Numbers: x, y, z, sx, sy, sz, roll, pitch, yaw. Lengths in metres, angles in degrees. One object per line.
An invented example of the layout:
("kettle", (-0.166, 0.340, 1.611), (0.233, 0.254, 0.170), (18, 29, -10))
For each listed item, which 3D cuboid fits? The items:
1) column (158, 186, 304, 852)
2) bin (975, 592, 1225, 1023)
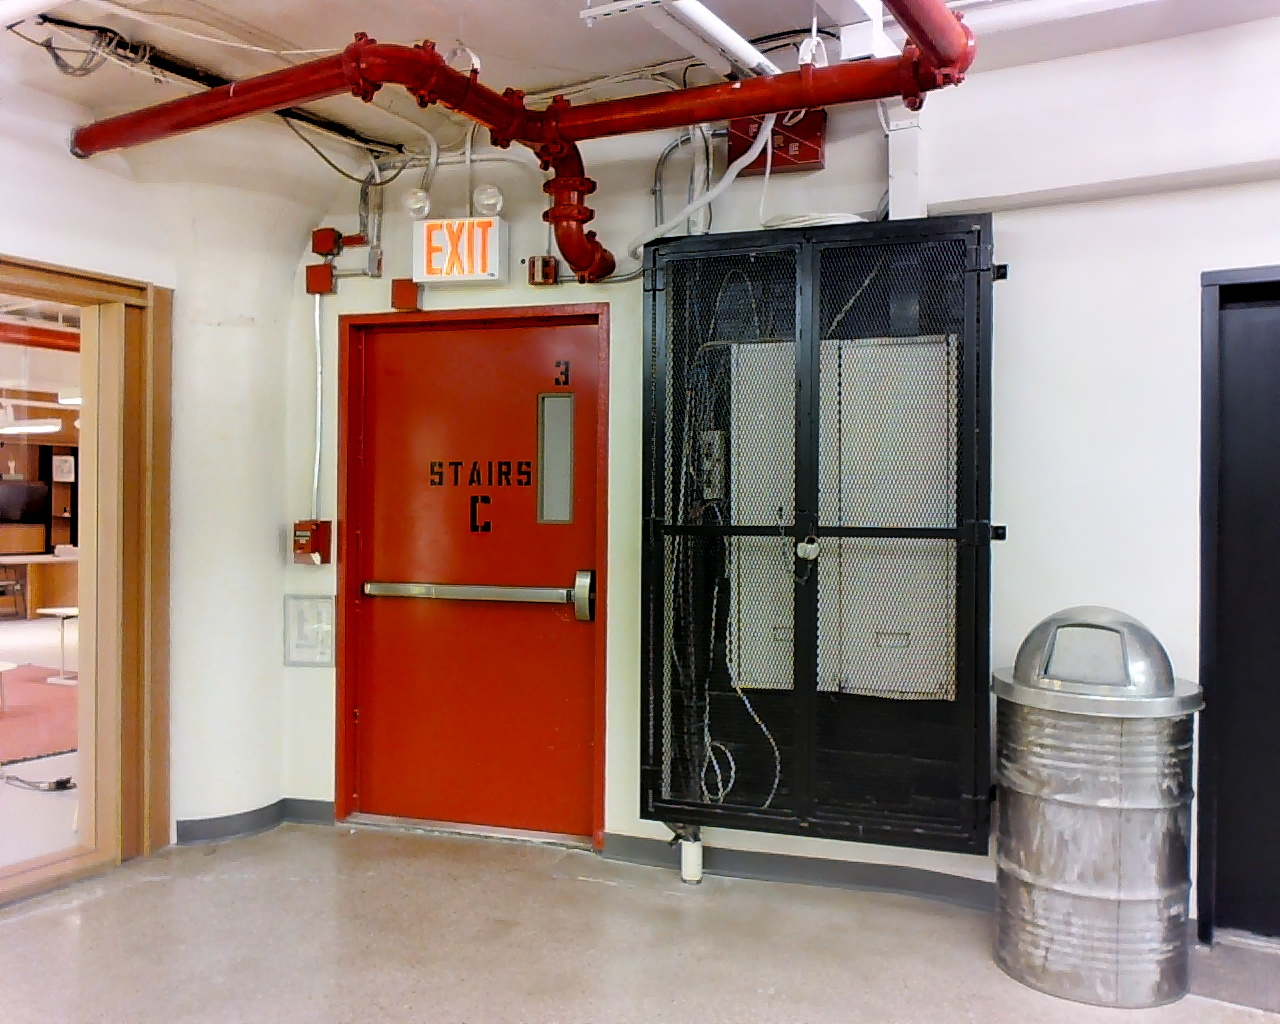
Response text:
("column", (-1.700, 0.030, 4.470), (0.530, 2.661, 0.210), (1, 0, -21))
("bin", (1.440, 0.860, 3.320), (0.640, 1.160, 0.630), (1, 0, 29))
